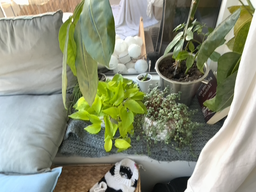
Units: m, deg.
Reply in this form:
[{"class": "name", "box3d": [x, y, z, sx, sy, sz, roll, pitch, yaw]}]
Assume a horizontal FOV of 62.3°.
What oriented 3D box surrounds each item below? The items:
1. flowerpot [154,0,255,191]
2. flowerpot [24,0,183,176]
[{"class": "flowerpot", "box3d": [0.260, -0.160, 0.480, 0.240, 0.870, 0.740, -3, 43, -2]}, {"class": "flowerpot", "box3d": [-0.050, -0.100, 0.780, 0.290, 0.670, 0.470, -3, 43, -2]}]
